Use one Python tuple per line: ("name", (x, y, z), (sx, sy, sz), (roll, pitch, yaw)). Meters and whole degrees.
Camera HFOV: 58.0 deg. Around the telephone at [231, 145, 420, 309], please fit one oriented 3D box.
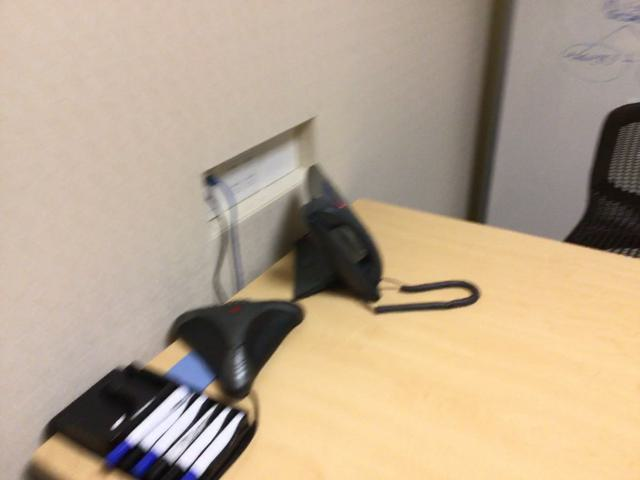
("telephone", (0.020, -0.040, 1.100), (0.250, 0.180, 0.250), (14, 33, 30))
